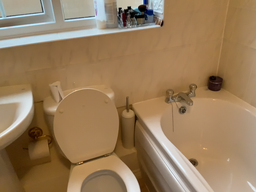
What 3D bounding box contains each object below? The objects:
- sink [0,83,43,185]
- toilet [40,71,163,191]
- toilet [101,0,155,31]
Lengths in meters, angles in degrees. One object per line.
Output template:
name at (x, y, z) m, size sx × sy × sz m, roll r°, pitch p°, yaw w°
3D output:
sink at (-0.680, 0.170, 0.890) m, size 0.570 × 0.170 × 0.480 m, roll -12°, pitch 31°, yaw -17°
toilet at (-0.160, 0.390, 1.130) m, size 0.390 × 0.810 × 0.650 m, roll -12°, pitch 31°, yaw -17°
toilet at (0.000, -0.520, 1.250) m, size 0.280 × 0.210 × 0.150 m, roll -11°, pitch 31°, yaw -14°
